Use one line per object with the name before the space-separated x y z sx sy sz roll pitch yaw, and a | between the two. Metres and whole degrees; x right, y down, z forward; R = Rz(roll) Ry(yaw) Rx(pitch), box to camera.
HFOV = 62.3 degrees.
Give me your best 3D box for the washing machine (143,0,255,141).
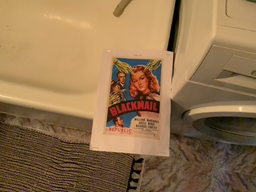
washing machine | 0.430 -0.190 0.810 0.590 0.860 0.580 8 74 0
